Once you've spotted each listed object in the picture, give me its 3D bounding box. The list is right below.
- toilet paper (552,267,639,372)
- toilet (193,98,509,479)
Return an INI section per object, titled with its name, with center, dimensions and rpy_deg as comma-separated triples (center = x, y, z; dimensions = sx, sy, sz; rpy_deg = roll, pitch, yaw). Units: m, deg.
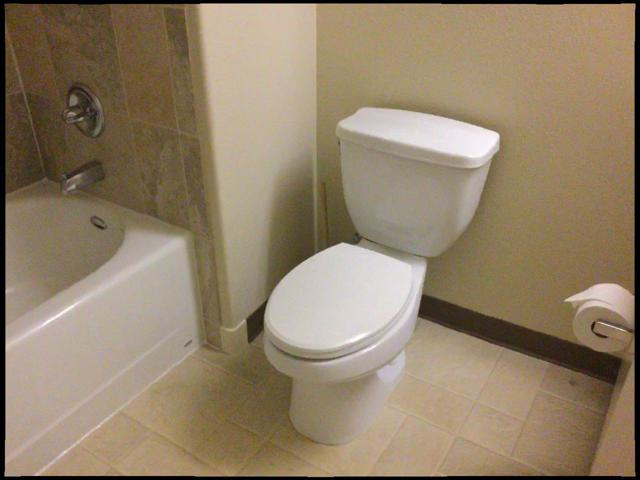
[toilet paper]
center = 0.649, 0.180, 1.340
dimensions = 0.150, 0.140, 0.150
rpy_deg = 19, 37, 27
[toilet]
center = 0.130, 0.110, 1.710
dimensions = 0.489, 0.771, 0.800
rpy_deg = 19, 37, 27
